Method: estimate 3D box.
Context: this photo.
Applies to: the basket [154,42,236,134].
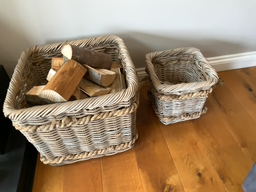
[{"bbox_3d":[0.340,-0.040,1.220,0.310,0.410,0.280,-7,43,-4],"label":"basket"}]
